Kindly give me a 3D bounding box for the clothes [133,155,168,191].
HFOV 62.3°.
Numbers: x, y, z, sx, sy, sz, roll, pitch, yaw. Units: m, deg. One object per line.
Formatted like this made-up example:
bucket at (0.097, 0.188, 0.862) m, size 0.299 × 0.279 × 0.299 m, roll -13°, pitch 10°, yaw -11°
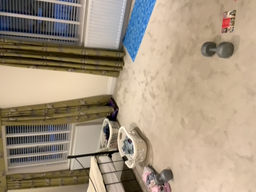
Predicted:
clothes at (0.270, 1.090, 2.710) m, size 0.540 × 0.140 × 0.350 m, roll -125°, pitch 42°, yaw -52°
